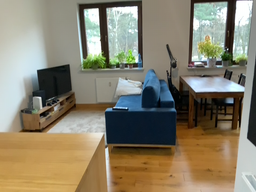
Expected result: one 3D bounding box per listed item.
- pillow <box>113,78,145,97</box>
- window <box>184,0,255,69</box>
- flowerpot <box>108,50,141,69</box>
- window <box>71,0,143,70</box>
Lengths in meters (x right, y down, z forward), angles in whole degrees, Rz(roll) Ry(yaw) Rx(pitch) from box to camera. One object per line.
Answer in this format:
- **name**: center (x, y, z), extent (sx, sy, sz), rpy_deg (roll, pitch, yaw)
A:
- **pillow**: center (0.040, -0.200, 4.710), extent (0.670, 0.340, 0.460), rpy_deg (0, 14, 5)
- **window**: center (2.030, -1.380, 4.670), extent (1.420, 1.480, 0.510), rpy_deg (1, 14, 9)
- **flowerpot**: center (-0.070, -0.880, 5.130), extent (0.730, 0.400, 0.460), rpy_deg (0, 14, 7)
- **window**: center (-0.450, -1.400, 4.950), extent (1.570, 1.530, 0.230), rpy_deg (0, 14, 5)
